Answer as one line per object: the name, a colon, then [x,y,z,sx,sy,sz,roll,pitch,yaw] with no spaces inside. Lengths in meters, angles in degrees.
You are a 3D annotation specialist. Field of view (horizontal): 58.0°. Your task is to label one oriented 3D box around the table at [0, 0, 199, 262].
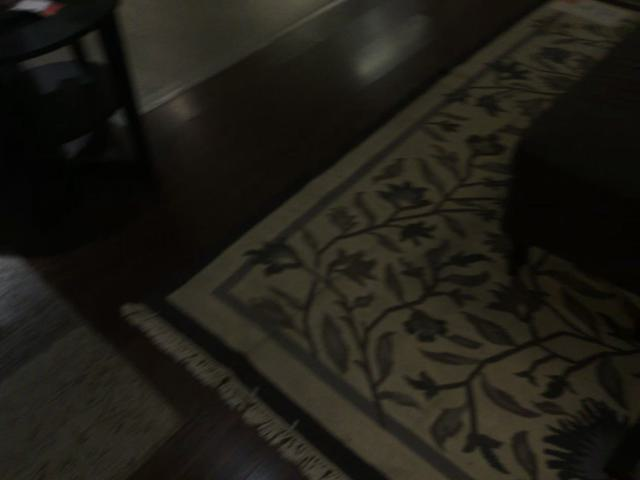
table: [-0.790,-0.410,1.740,0.480,0.650,0.510,-38,55,-23]
